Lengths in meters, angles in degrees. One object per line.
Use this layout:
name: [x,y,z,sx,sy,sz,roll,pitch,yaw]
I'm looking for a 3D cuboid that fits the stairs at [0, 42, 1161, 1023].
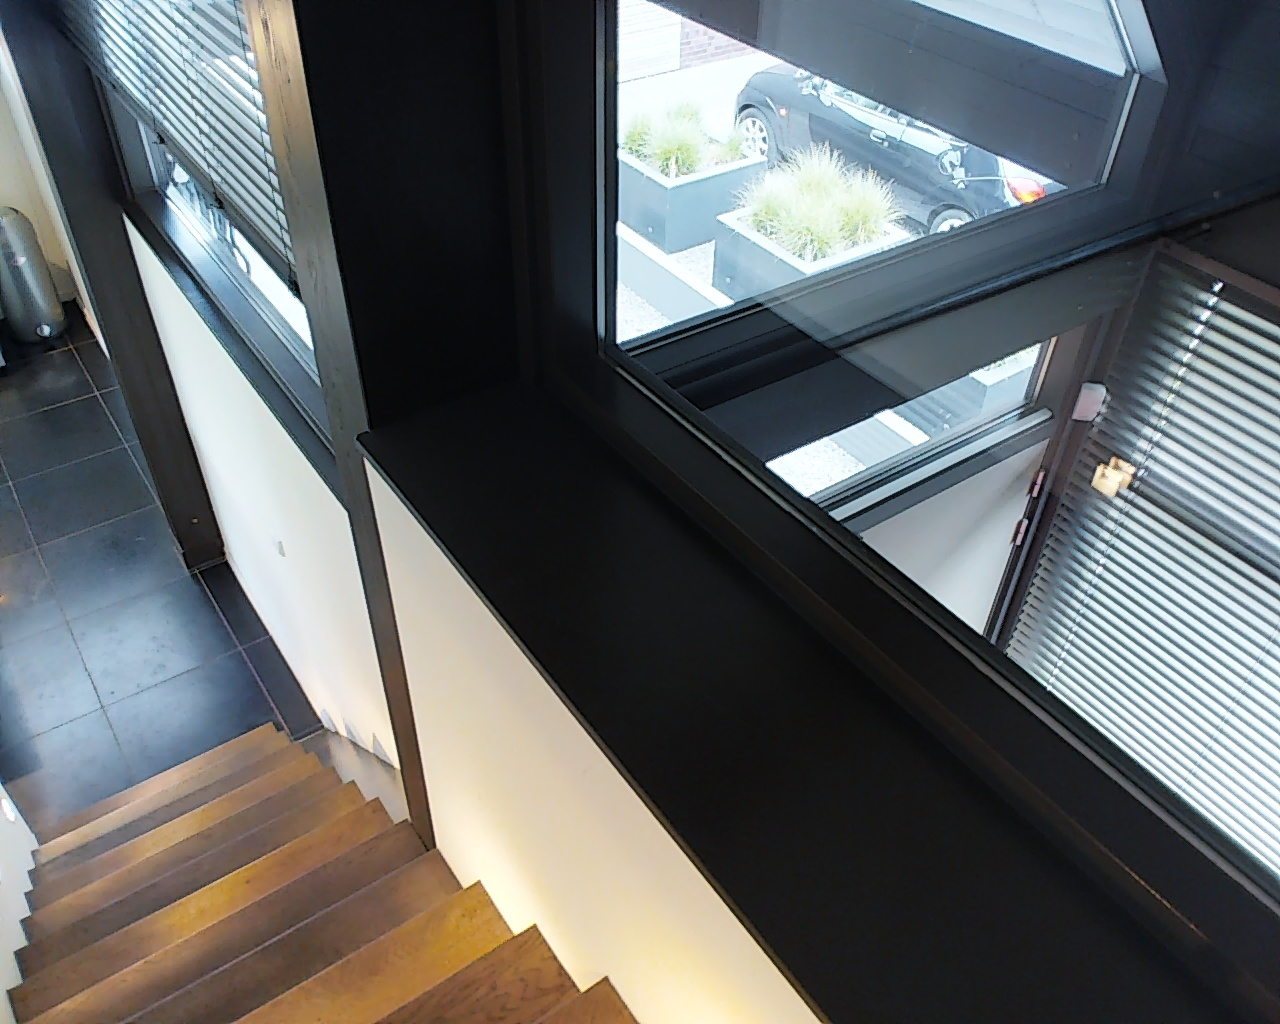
stairs: [-0.880,0.880,2.480,1.150,2.720,3.170,-24,47,-26]
